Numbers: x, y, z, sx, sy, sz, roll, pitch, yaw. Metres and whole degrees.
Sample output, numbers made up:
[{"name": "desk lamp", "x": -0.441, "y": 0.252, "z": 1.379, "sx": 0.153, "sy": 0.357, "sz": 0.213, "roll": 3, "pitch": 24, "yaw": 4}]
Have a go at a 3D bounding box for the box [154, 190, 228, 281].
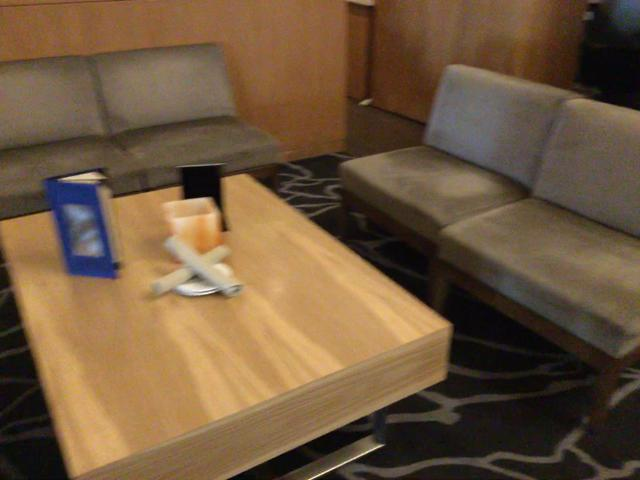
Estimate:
[{"name": "box", "x": -0.390, "y": -0.020, "z": 1.740, "sx": 0.180, "sy": 0.170, "sz": 0.230, "roll": -7, "pitch": 28, "yaw": -17}]
